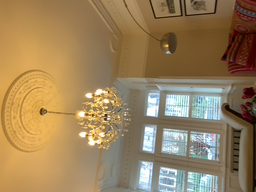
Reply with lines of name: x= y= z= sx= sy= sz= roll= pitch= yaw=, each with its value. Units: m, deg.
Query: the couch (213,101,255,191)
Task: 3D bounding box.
couch: x=2.180 y=0.970 z=4.190 sx=0.790 sy=0.810 sz=1.570 roll=35 pitch=-119 yaw=-67
